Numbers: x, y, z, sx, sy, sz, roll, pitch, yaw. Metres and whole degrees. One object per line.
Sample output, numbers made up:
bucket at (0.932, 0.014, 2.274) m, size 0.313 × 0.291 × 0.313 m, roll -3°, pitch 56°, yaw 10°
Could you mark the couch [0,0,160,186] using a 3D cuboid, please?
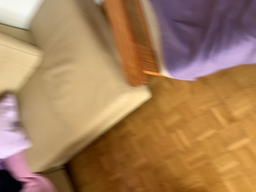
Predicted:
couch at (-0.530, -0.070, 1.200) m, size 0.890 × 0.800 × 0.790 m, roll -38°, pitch 70°, yaw 27°
